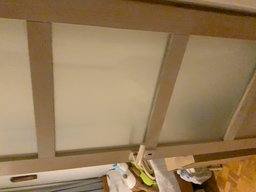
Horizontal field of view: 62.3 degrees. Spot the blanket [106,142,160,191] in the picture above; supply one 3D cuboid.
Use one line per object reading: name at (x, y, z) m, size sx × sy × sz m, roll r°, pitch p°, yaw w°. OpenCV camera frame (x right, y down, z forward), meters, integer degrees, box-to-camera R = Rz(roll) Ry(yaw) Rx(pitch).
blanket at (0.000, 0.950, 2.490) m, size 0.860 × 0.320 × 0.520 m, roll 117°, pitch 148°, yaw -54°
